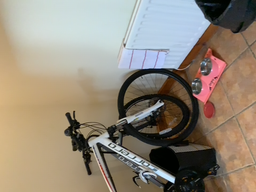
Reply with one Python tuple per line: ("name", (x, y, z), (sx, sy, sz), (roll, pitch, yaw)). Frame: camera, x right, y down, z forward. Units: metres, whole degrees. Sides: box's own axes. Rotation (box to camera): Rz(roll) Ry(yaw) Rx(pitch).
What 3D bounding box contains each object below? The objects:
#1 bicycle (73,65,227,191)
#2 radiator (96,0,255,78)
("bicycle", (0.120, 0.640, 1.640), (0.550, 0.980, 1.700), (120, 145, -58))
("radiator", (0.290, -0.480, 1.400), (1.070, 0.850, 0.120), (118, 147, -56))
